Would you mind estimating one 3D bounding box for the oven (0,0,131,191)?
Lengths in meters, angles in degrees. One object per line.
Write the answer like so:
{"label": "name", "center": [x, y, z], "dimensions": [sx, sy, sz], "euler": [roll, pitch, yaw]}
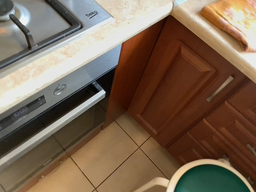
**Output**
{"label": "oven", "center": [-0.480, -0.010, 0.810], "dimensions": [0.580, 0.840, 0.590], "euler": [-37, 74, -28]}
